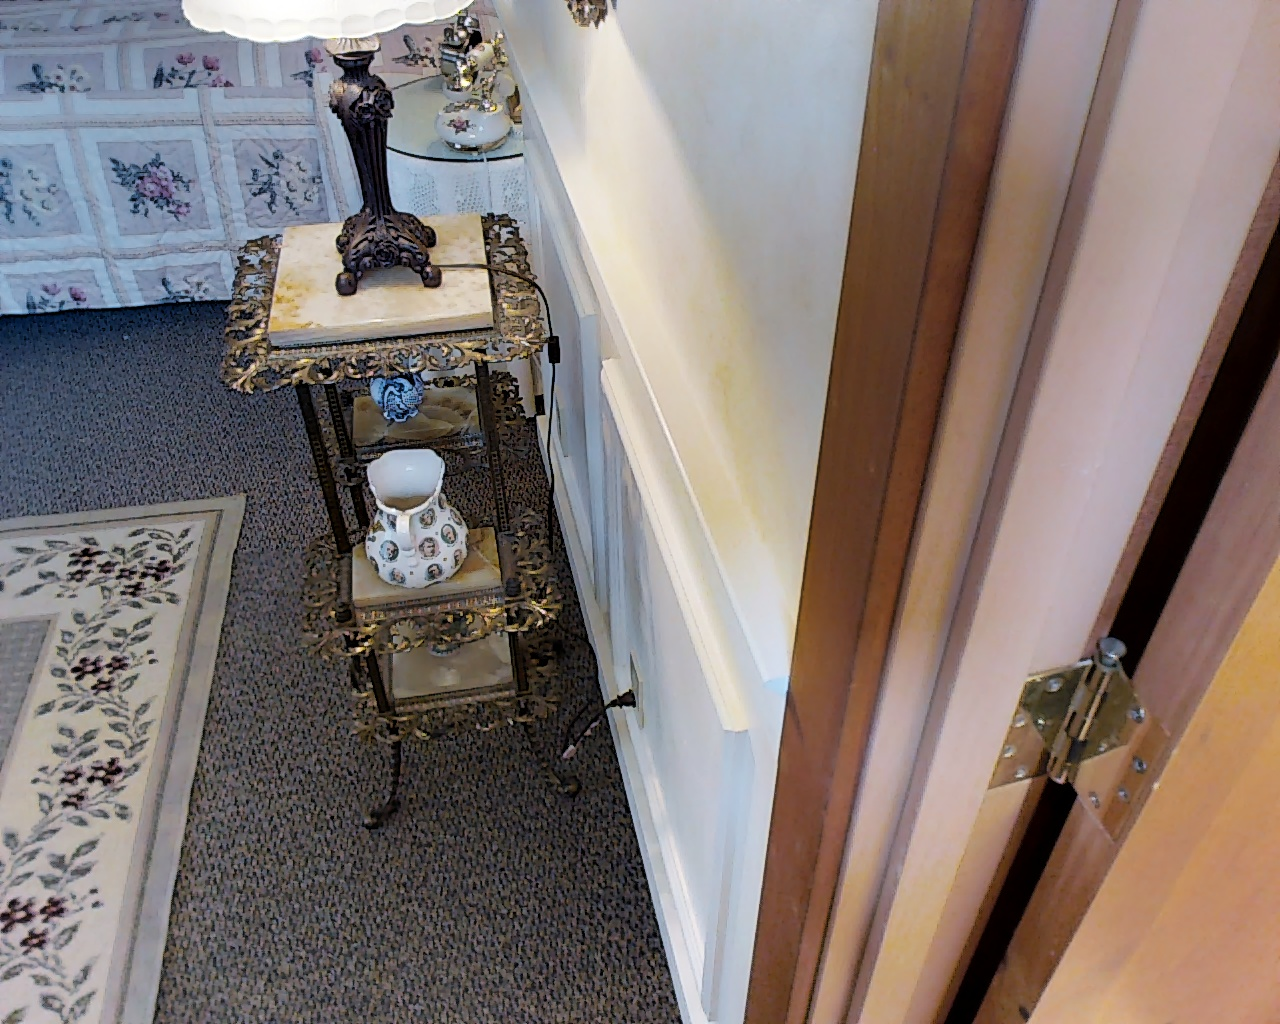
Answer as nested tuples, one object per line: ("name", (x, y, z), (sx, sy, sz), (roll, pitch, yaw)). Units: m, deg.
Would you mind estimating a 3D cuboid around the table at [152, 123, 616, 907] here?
("table", (-0.320, 0.020, 1.620), (0.430, 0.940, 0.640), (-8, 42, -8))
